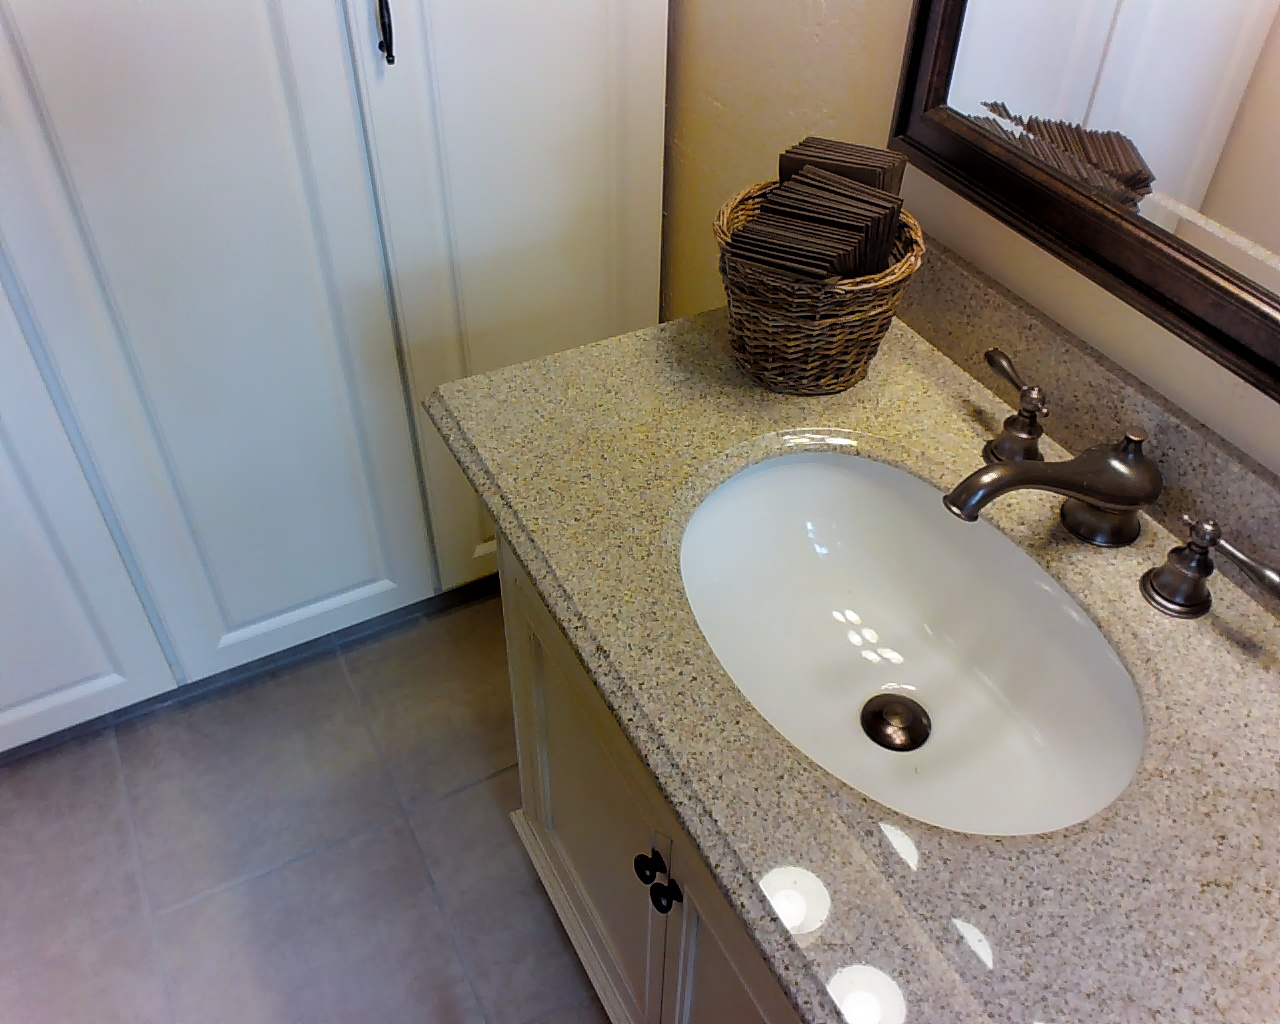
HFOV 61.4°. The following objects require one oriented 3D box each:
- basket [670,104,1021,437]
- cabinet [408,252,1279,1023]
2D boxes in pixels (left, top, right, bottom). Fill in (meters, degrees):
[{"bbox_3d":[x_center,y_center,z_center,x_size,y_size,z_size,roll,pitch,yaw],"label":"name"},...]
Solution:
[{"bbox_3d":[0.200,-0.260,1.130,0.260,0.220,0.210,-19,46,-21],"label":"basket"},{"bbox_3d":[0.230,0.390,1.240,0.570,0.890,1.000,-19,47,-21],"label":"cabinet"}]
